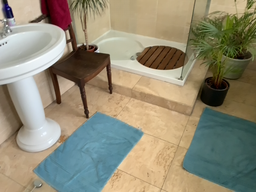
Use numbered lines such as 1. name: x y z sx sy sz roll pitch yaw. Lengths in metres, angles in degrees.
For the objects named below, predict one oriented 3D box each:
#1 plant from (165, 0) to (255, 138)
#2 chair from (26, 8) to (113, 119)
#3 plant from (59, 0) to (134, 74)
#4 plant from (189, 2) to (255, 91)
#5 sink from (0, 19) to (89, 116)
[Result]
1. plant: 0.900 -0.360 1.900 0.780 0.950 0.800 19 42 22
2. chair: -0.470 -0.300 1.960 0.470 0.810 0.460 17 41 20
3. plant: -0.290 -1.080 2.170 0.390 1.460 0.790 18 42 21
4. plant: 1.170 -0.560 2.350 0.760 0.720 0.410 19 43 22
5. sink: -0.680 -0.240 1.350 0.540 0.210 0.670 17 42 20
